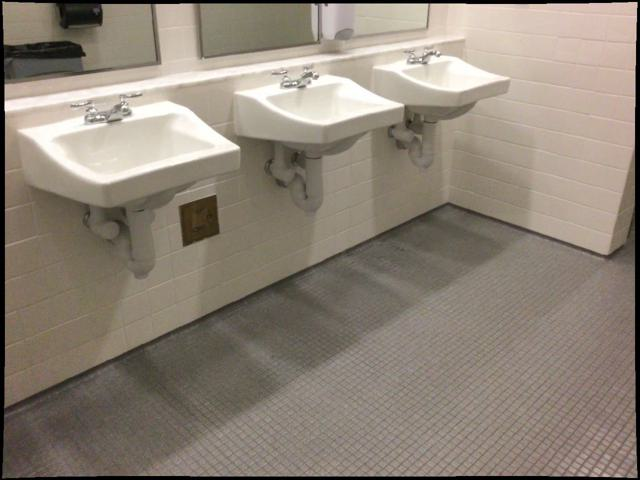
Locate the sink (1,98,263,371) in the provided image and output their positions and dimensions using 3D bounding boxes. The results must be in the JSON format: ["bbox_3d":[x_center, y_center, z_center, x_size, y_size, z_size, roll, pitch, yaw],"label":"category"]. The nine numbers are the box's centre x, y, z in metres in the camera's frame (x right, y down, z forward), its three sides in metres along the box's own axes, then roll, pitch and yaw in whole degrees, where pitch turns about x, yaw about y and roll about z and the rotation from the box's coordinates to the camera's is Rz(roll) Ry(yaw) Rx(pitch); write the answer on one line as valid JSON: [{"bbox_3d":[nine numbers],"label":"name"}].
[{"bbox_3d":[-0.549,-0.060,1.790,0.549,0.591,0.450,-24,36,-37],"label":"sink"}]

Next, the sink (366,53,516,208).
[{"bbox_3d":[0.559,-0.541,2.730,0.499,0.551,0.440,-24,36,-37],"label":"sink"}]

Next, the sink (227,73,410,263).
[{"bbox_3d":[0.000,-0.311,2.250,0.519,0.531,0.440,-24,36,-37],"label":"sink"}]
